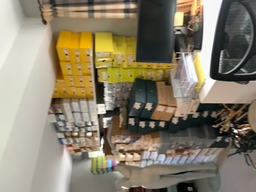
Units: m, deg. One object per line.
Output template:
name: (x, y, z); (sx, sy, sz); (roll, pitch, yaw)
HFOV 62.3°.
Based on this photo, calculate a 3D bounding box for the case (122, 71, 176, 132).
case: (0.210, 0.090, 2.560); (0.640, 0.500, 0.450); (99, 169, -54)

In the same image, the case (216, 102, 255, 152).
case: (1.180, 0.330, 2.160); (0.550, 0.270, 0.260); (99, 170, -52)
